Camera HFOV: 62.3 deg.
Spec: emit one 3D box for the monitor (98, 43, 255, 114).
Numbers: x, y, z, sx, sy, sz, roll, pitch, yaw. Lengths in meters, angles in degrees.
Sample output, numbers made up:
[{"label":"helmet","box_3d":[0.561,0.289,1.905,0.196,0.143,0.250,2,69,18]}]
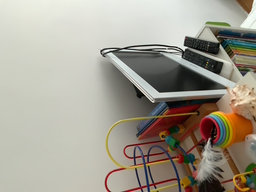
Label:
[{"label":"monitor","box_3d":[0.150,-0.110,0.840,0.590,0.400,0.040,-130,43,-55]}]
